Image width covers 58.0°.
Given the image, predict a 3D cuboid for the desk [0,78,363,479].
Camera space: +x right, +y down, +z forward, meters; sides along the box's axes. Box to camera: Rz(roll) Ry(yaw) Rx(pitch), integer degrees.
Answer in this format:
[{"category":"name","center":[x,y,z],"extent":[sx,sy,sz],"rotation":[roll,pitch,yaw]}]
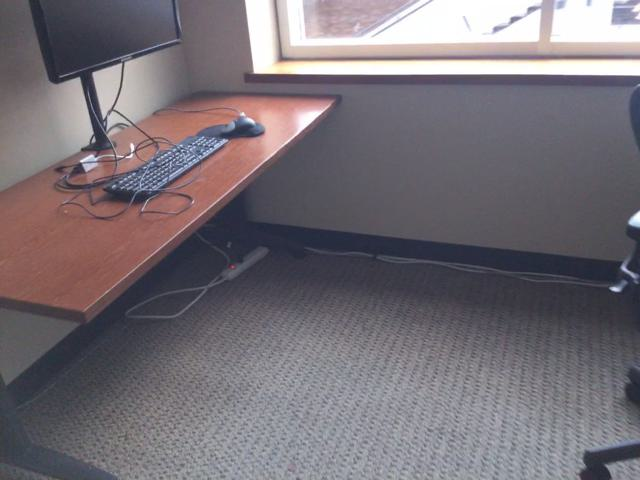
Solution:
[{"category":"desk","center":[-0.480,0.040,1.930],"extent":[0.840,0.870,1.510],"rotation":[1,23,19]}]

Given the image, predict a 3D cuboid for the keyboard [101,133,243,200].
[{"category":"keyboard","center":[-0.420,-0.230,1.730],"extent":[0.180,0.070,0.480],"rotation":[1,23,19]}]
